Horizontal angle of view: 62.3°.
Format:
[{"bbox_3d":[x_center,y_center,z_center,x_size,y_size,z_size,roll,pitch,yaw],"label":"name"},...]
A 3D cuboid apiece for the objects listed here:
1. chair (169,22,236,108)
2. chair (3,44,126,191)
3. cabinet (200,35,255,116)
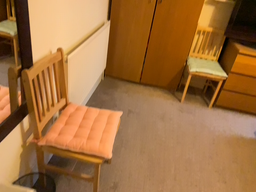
[{"bbox_3d":[0.860,-0.390,2.660,0.450,0.850,0.560,10,32,0],"label":"chair"},{"bbox_3d":[-0.350,0.200,1.360,0.510,0.870,0.440,11,32,1],"label":"chair"},{"bbox_3d":[1.490,-0.240,2.670,0.830,0.780,0.510,11,32,1],"label":"cabinet"}]
